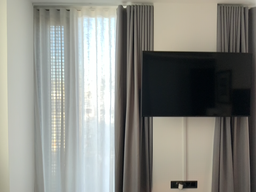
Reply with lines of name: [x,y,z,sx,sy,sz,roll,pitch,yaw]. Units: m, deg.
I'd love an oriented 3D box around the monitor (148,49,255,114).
monitor: [0.770,-0.130,2.100,1.130,0.600,0.080,1,4,-8]
